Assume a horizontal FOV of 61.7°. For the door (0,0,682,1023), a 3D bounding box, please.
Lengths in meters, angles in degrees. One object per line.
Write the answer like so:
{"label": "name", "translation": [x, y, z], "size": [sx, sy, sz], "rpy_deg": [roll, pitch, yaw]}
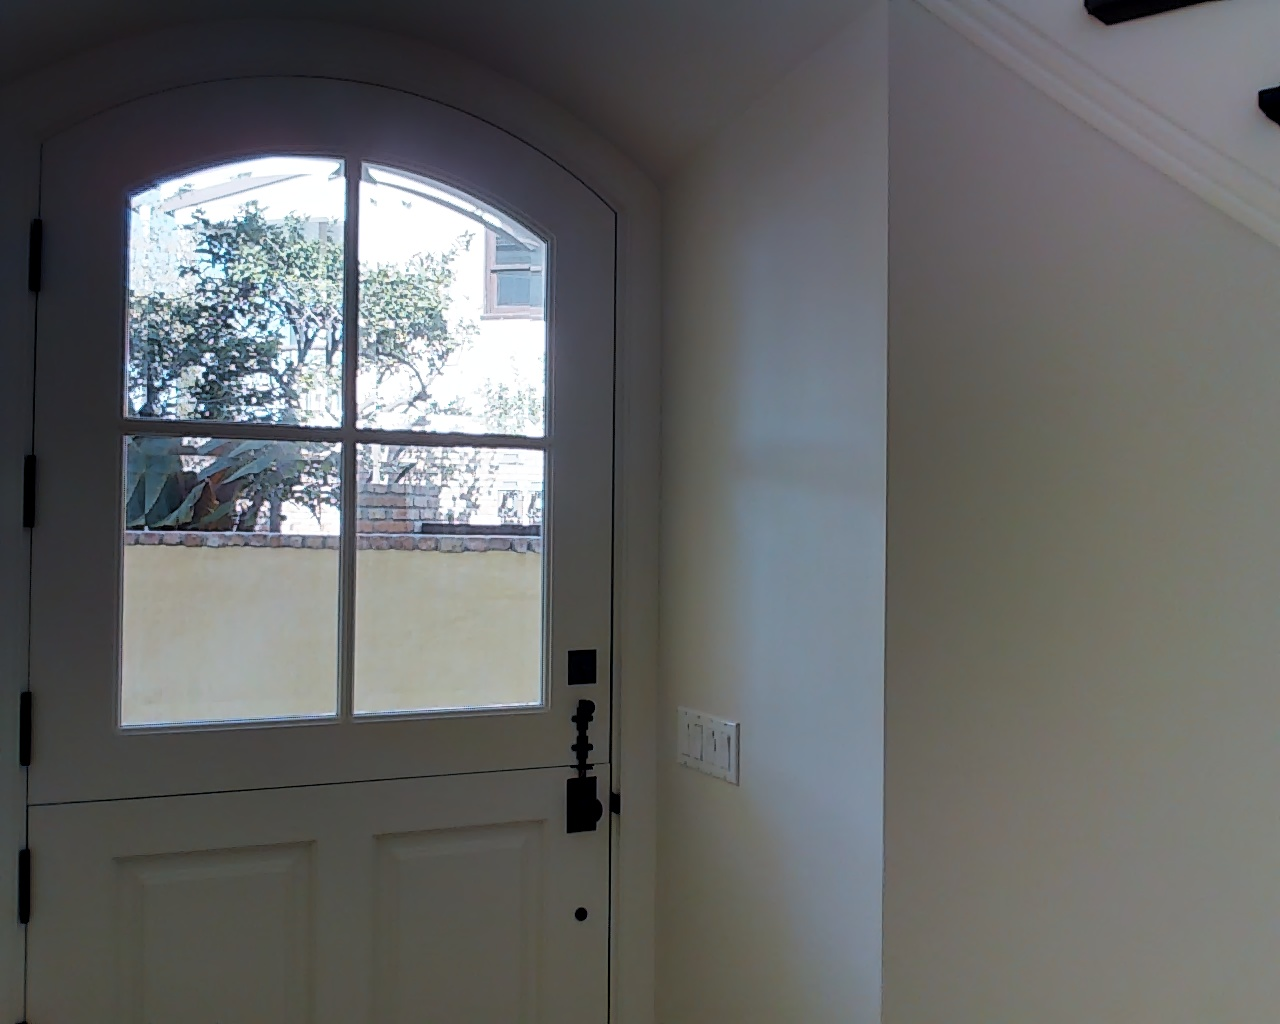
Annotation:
{"label": "door", "translation": [-0.510, 0.320, 2.000], "size": [1.230, 2.441, 0.170], "rpy_deg": [1, -1, -27]}
